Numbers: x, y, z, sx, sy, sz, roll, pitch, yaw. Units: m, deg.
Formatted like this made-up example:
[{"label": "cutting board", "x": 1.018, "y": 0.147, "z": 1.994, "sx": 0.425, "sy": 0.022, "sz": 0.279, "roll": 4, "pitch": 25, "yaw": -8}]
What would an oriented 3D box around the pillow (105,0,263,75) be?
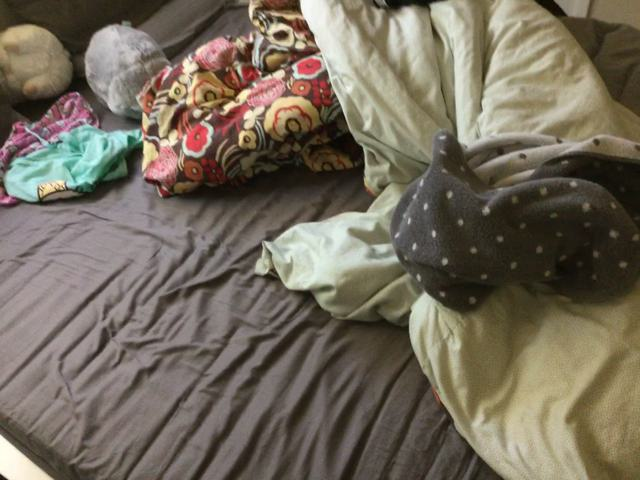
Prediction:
[{"label": "pillow", "x": -0.380, "y": -0.690, "z": 1.740, "sx": 0.200, "sy": 0.100, "sz": 0.500, "roll": 20, "pitch": 55, "yaw": 26}]
